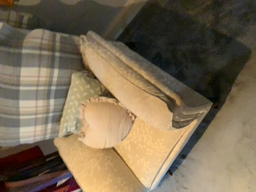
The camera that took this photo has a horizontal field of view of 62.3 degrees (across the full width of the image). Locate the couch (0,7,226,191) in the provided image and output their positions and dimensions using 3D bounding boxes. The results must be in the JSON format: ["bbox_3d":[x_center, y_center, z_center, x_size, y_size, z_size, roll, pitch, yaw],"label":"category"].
[{"bbox_3d":[-0.190,0.100,1.230,0.850,0.910,0.780,43,125,30],"label":"couch"}]
